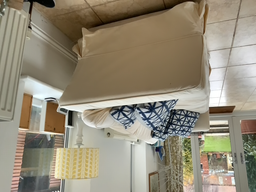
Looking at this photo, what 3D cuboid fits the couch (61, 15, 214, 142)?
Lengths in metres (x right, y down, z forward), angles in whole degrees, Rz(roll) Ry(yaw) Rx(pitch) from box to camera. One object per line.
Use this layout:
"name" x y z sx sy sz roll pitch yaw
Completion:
"couch" 0.330 0.080 2.350 1.070 0.750 1.840 -6 165 21

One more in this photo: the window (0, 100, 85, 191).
"window" -0.650 0.820 1.630 0.050 1.410 0.950 -5 165 21

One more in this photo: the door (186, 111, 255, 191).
"door" 2.530 1.370 4.600 2.330 2.050 0.070 -5 165 19
